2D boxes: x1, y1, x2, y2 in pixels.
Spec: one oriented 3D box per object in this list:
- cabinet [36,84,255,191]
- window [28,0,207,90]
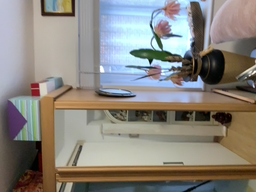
[{"bbox_3d":[0.490,0.420,1.650,0.640,2.090,0.920,-119,31,-80],"label":"cabinet"},{"bbox_3d":[-0.070,-0.870,1.890,0.150,1.530,1.590,-118,29,-80],"label":"window"}]
